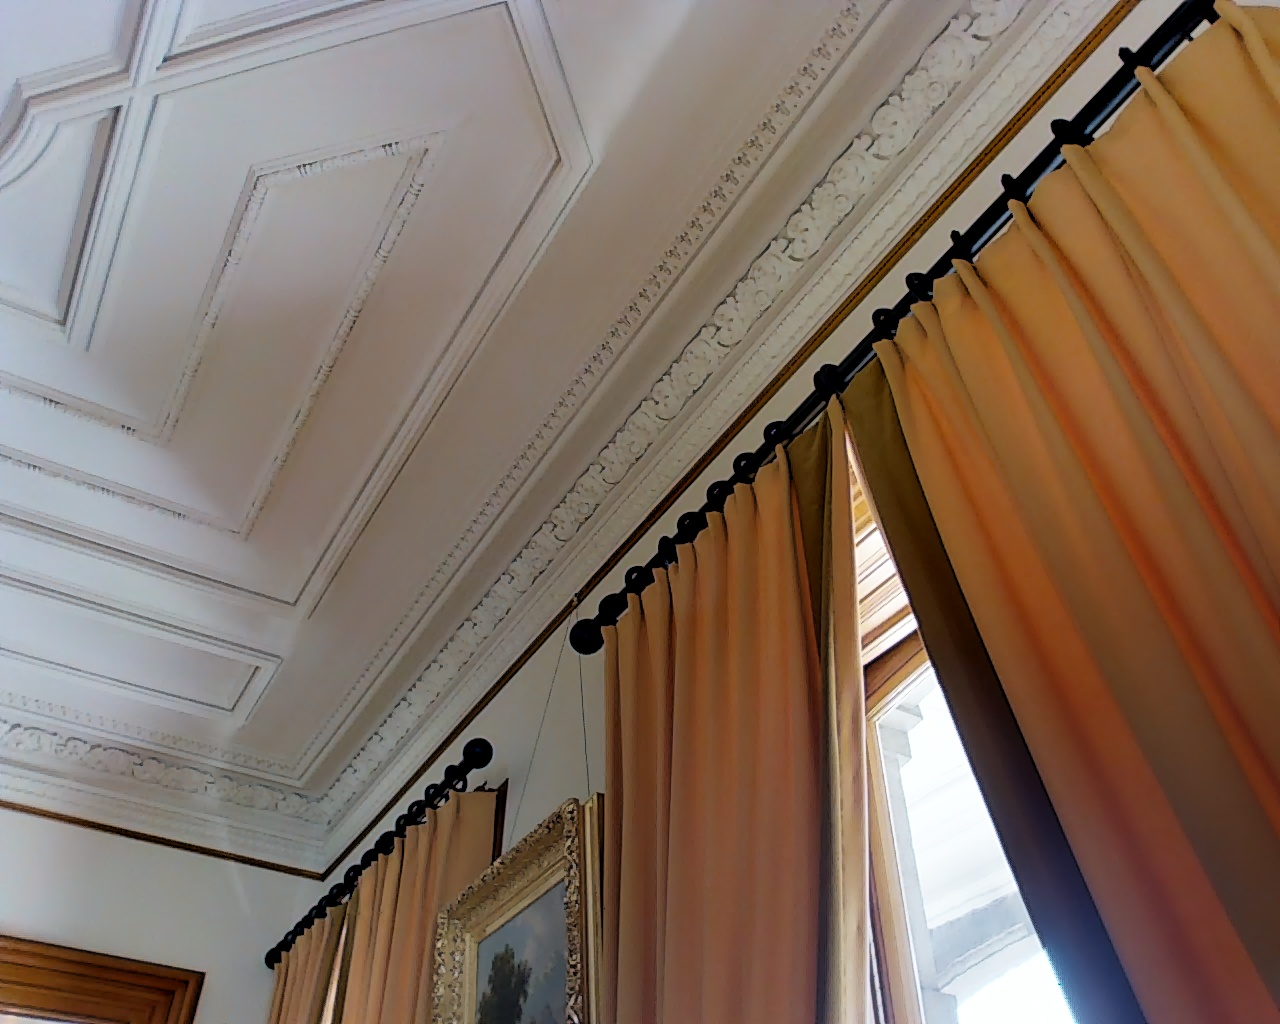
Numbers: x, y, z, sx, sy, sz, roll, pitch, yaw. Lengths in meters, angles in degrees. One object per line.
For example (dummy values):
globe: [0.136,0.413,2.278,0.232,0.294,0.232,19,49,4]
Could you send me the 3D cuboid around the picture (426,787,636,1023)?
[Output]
picture: [-0.320,1.421,2.800,0.190,1.090,0.900,21,-46,-22]
